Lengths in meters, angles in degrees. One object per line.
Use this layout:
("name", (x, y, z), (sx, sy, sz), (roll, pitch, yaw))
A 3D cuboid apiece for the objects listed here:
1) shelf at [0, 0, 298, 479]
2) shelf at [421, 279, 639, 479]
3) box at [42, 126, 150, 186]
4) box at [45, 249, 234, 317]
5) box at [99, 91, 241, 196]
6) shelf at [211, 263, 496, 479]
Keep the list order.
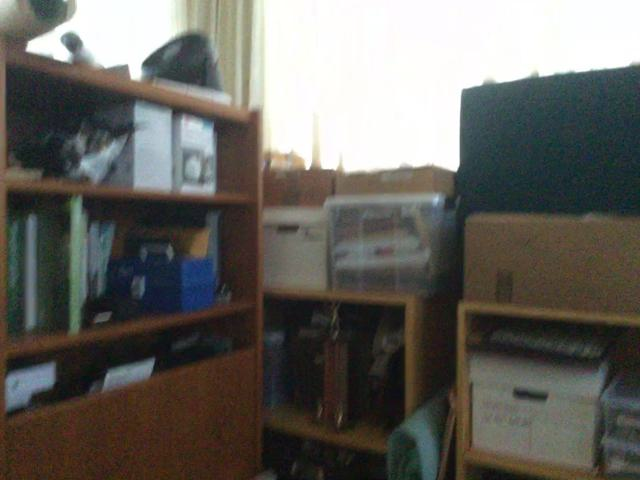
("shelf", (-0.540, 0.500, 1.560), (0.550, 1.860, 0.930), (1, 1, 30))
("shelf", (0.840, 0.800, 1.520), (0.950, 1.300, 0.700), (1, 1, 30))
("box", (-0.520, -0.190, 1.350), (0.150, 0.110, 0.180), (1, 1, 30))
("box", (-0.510, 0.110, 1.660), (0.390, 0.150, 0.340), (1, 1, 30))
("box", (-0.400, -0.250, 1.610), (0.130, 0.230, 0.410), (1, 1, 30))
("shelf", (0.130, 0.560, 1.970), (0.780, 0.910, 0.600), (1, 1, 30))
